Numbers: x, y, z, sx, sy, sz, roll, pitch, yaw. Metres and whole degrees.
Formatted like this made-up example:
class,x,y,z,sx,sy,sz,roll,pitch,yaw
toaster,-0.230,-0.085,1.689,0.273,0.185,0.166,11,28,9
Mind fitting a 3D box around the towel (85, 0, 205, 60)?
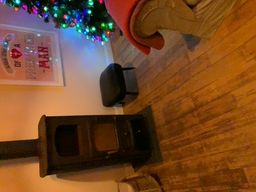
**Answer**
class,x,y,z,sx,sy,sz,roll,pitch,yaw
towel,0.080,-0.670,1.470,0.520,0.500,0.590,-61,41,36
